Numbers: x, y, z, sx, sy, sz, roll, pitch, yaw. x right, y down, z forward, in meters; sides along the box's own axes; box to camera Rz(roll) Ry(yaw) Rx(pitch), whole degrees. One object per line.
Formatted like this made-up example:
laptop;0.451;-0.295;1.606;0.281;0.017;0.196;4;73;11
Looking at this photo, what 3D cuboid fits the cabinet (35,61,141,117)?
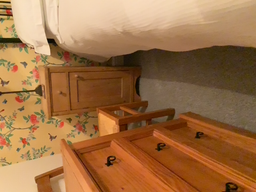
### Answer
cabinet;-0.330;-0.100;1.820;0.360;0.800;0.370;20;113;59
